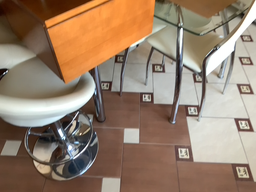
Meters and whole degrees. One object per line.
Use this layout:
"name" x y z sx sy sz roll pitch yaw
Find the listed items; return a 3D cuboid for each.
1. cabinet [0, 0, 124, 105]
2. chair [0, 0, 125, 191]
"cabinet" -0.550 -0.490 0.980 0.260 0.300 1.270 -37 60 -26
"chair" -0.390 0.100 1.050 0.460 0.820 0.600 -37 60 -27
